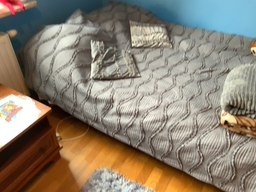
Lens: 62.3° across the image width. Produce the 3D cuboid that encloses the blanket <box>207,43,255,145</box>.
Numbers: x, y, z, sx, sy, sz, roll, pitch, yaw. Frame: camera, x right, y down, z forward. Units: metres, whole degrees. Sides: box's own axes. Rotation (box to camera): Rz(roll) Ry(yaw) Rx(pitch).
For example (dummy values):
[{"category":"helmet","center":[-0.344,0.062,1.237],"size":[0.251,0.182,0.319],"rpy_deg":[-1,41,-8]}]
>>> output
[{"category":"blanket","center":[0.850,-0.020,1.300],"size":[0.500,0.260,0.660],"rpy_deg":[21,43,22]}]
